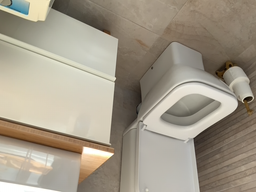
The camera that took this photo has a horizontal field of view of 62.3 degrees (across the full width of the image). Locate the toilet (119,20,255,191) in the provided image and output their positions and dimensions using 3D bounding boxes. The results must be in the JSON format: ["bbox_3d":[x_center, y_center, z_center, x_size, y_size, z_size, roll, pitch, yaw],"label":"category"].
[{"bbox_3d":[0.270,0.140,1.140,0.370,0.810,0.610,20,137,-21],"label":"toilet"}]
